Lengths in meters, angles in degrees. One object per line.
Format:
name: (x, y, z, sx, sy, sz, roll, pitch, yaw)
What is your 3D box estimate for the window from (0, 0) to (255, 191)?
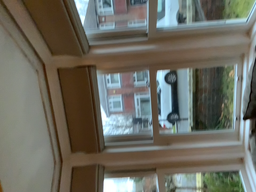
window: (0.190, 0.100, 1.710, 0.880, 2.030, 2.500, -88, -7, -75)
